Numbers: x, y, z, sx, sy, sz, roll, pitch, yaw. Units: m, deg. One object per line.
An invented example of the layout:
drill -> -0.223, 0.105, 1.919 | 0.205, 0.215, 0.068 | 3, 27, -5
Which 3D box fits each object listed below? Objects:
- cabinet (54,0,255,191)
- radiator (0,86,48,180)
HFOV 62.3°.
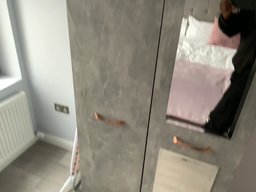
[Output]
cabinet -> 0.180, 0.060, 1.140 | 0.800, 1.890, 0.580 | 14, 31, 17
radiator -> -1.130, 0.460, 1.510 | 0.150, 0.570, 1.320 | 15, 31, 18
